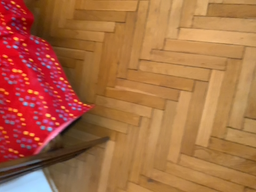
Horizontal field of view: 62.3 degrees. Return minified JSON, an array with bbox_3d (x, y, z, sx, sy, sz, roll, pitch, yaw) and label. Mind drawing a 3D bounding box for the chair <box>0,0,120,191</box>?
[{"bbox_3d":[-0.800,-0.180,1.240,0.670,0.790,1.330,-35,77,21],"label":"chair"}]
